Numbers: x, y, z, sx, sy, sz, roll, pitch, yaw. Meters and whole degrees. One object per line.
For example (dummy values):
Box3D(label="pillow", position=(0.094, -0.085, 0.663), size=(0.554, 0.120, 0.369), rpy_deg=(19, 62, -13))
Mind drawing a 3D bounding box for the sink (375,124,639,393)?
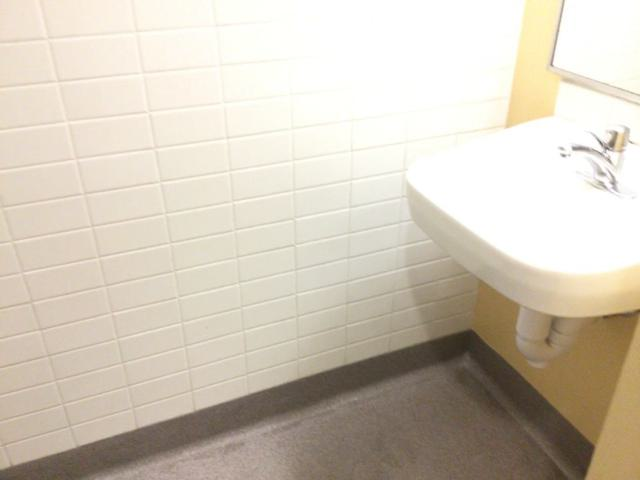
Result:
Box3D(label="sink", position=(0.430, -0.020, 1.130), size=(0.410, 0.190, 0.560), rpy_deg=(-12, 34, -21))
